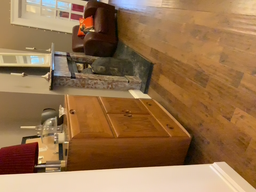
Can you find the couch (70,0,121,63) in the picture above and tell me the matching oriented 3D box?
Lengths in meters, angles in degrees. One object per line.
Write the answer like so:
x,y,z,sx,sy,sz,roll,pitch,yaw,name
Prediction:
-0.720,-1.350,4.410,0.890,0.820,0.930,135,134,-60,couch
